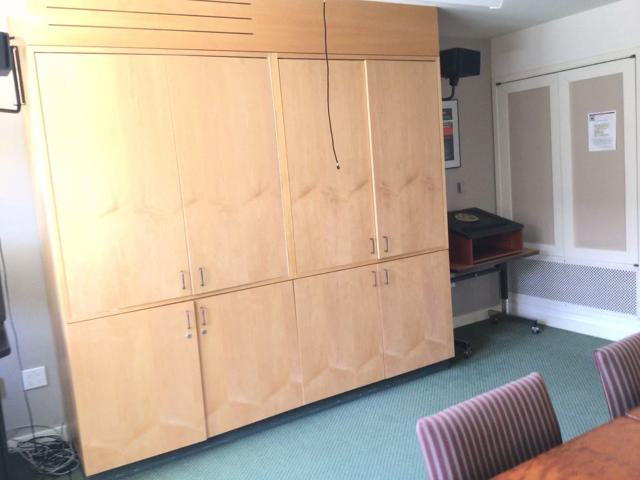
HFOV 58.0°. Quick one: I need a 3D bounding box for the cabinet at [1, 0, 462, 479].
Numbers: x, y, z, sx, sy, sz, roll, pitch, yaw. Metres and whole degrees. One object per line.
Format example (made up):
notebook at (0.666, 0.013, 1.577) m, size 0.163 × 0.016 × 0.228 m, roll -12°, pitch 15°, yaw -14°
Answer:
cabinet at (-0.340, -0.080, 3.330) m, size 2.310 × 2.200 × 0.730 m, roll -10°, pitch 9°, yaw -31°
